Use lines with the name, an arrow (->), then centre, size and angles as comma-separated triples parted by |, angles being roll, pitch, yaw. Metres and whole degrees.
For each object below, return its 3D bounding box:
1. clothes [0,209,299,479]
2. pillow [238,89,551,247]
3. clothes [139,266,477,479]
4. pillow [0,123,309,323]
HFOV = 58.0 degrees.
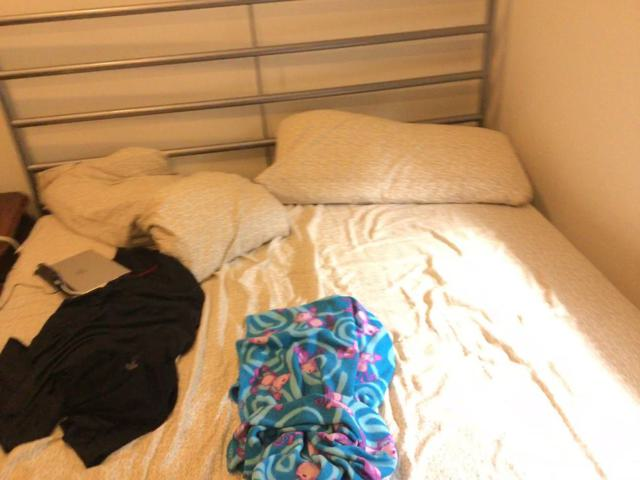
clothes -> -0.390, 0.170, 1.250 | 0.580, 0.160, 0.590 | -8, 31, -10
pillow -> 0.190, -0.260, 1.820 | 0.820, 0.220, 0.530 | -8, 31, -10
clothes -> -0.020, 0.400, 0.880 | 0.480, 0.120, 1.050 | -8, 31, -10
pillow -> -0.470, -0.100, 1.650 | 0.750, 0.190, 0.670 | -8, 31, -10
